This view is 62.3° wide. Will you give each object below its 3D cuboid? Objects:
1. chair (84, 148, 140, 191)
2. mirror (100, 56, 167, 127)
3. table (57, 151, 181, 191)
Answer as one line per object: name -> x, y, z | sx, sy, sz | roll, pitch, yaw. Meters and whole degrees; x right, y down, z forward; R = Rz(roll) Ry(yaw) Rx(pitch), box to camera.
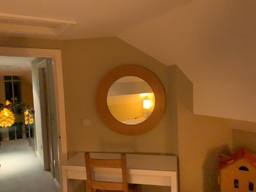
chair -> -0.140, 1.060, 2.290 | 0.460, 0.860, 0.470 | -1, 4, 13
mirror -> 0.070, -0.040, 2.510 | 0.750, 0.800, 0.130 | -2, 4, 9
table -> -0.060, 1.090, 2.340 | 1.240, 0.800, 0.490 | -2, 4, 11
